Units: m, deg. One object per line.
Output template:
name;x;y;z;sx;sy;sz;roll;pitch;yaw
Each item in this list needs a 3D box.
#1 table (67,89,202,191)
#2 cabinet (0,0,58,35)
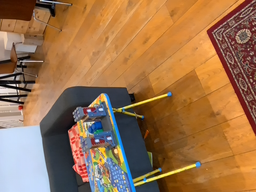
table;0.010;0.340;1.490;0.580;0.590;0.580;-35;65;47
cabinet;-1.590;-1.310;3.350;0.530;0.760;0.300;-33;66;47
